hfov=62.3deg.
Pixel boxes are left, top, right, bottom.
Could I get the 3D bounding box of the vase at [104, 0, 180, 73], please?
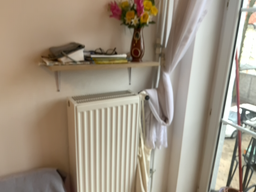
[{"bbox_3d":[0.070,-0.360,1.220,0.340,0.390,0.240,-8,20,-32],"label":"vase"}]
